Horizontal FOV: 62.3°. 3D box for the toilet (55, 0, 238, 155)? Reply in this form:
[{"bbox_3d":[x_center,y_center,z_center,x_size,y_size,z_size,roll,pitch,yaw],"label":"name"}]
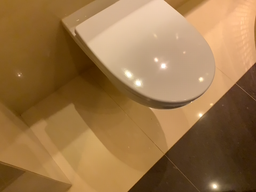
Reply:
[{"bbox_3d":[0.040,-0.110,0.930,0.370,0.450,0.530,-38,74,-21],"label":"toilet"}]
